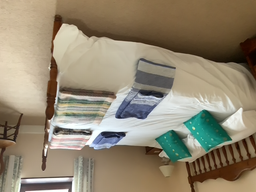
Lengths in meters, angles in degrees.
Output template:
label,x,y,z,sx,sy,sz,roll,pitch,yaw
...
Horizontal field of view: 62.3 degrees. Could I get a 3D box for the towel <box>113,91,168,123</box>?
label,x,y,z,sx,sy,sz,roll,pitch,yaw
towel,0.090,0.120,1.920,0.340,0.080,0.470,4,151,-20

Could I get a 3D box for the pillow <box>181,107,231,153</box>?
label,x,y,z,sx,sy,sz,roll,pitch,yaw
pillow,0.800,0.360,2.220,0.170,0.350,0.310,-30,165,-35

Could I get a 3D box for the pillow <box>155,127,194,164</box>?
label,x,y,z,sx,sy,sz,roll,pitch,yaw
pillow,0.580,0.630,2.690,0.140,0.360,0.350,-31,166,-34

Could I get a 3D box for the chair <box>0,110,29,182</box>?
label,x,y,z,sx,sy,sz,roll,pitch,yaw
chair,-1.680,0.670,2.810,0.450,0.800,0.550,15,145,-36
